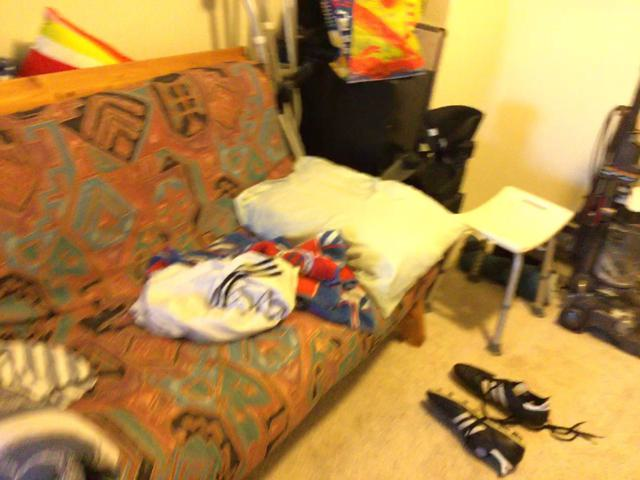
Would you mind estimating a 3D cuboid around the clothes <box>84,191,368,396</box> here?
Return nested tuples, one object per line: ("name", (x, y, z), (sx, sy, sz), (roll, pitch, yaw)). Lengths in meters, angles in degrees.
("clothes", (-0.230, 0.090, 1.490), (0.450, 0.180, 0.540), (26, 33, 34))

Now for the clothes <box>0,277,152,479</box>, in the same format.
("clothes", (-0.570, 0.280, 1.120), (0.420, 0.180, 0.280), (26, 33, 34))
